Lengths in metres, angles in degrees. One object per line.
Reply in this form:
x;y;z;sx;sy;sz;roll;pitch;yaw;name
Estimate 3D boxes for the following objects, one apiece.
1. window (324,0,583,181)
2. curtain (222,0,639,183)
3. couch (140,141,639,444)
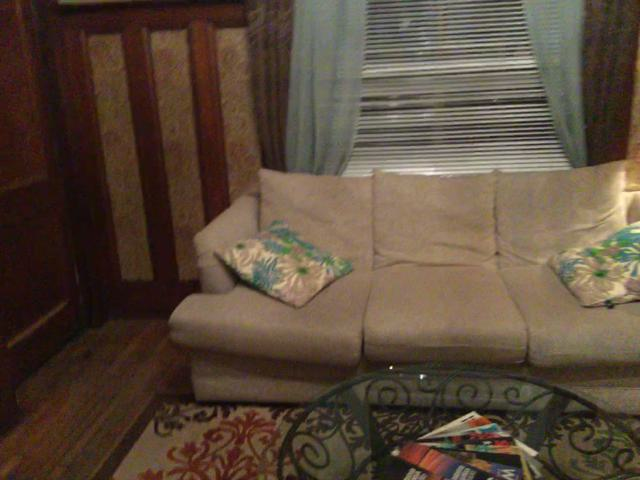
0.590;-0.900;2.640;1.100;1.190;0.150;-2;14;11;window
0.520;-0.930;2.560;1.860;1.230;0.270;-2;14;11;curtain
0.470;0.150;2.490;2.040;0.940;0.990;-2;14;11;couch
